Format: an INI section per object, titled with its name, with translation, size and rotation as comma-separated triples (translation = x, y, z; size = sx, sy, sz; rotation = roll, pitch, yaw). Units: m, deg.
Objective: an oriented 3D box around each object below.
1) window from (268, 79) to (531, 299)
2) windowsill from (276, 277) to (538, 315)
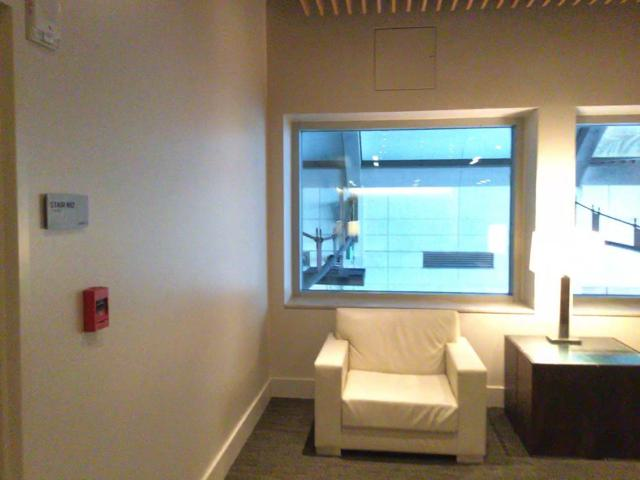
[window]
translation = 0.580, -0.350, 4.320
size = 1.800, 1.480, 0.450
rotation = -2, 4, 7
[windowsill]
translation = 0.610, 0.410, 4.270
size = 1.800, 0.150, 0.520
rotation = -2, 4, 7
